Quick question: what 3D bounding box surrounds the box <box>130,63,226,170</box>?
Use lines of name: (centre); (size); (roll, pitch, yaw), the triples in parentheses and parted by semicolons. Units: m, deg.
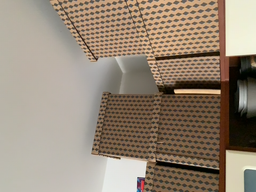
box: (0.310, 0.130, 1.170); (0.420, 0.410, 0.460); (35, -121, -61)
